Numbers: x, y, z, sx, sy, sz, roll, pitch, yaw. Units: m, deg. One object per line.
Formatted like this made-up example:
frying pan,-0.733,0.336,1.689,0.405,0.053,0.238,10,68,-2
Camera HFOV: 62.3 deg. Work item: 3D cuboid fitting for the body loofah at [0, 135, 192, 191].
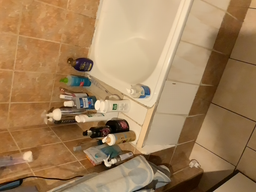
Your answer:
body loofah,-0.150,0.410,0.860,0.290,0.950,0.260,33,113,40
